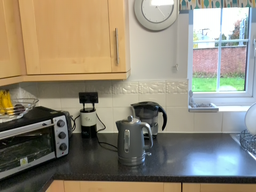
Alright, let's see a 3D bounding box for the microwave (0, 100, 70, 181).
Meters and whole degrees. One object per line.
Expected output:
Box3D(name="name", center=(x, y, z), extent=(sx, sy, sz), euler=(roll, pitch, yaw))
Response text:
Box3D(name="microwave", center=(-0.700, 0.230, 1.200), extent=(0.560, 0.270, 0.460), euler=(-10, 14, -38))
